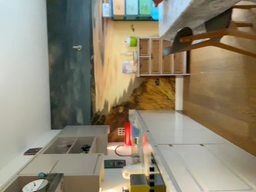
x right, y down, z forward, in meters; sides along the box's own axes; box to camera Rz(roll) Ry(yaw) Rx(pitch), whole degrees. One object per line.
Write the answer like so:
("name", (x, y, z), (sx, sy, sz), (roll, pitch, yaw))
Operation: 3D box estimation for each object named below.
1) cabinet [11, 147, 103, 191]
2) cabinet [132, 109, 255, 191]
("cabinet", (-0.670, 0.810, 2.220), (0.620, 0.760, 0.340), (-119, 29, -84))
("cabinet", (0.590, 0.680, 2.350), (3.250, 0.880, 0.590), (-119, 29, -84))
